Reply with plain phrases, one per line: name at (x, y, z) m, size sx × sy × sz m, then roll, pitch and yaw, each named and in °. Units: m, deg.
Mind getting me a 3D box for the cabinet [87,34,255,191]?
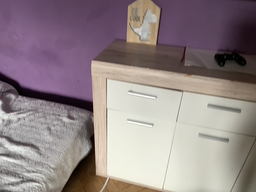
cabinet at (0.640, 0.210, 1.320) m, size 1.680 × 0.860 × 0.450 m, roll 10°, pitch 32°, yaw 10°
